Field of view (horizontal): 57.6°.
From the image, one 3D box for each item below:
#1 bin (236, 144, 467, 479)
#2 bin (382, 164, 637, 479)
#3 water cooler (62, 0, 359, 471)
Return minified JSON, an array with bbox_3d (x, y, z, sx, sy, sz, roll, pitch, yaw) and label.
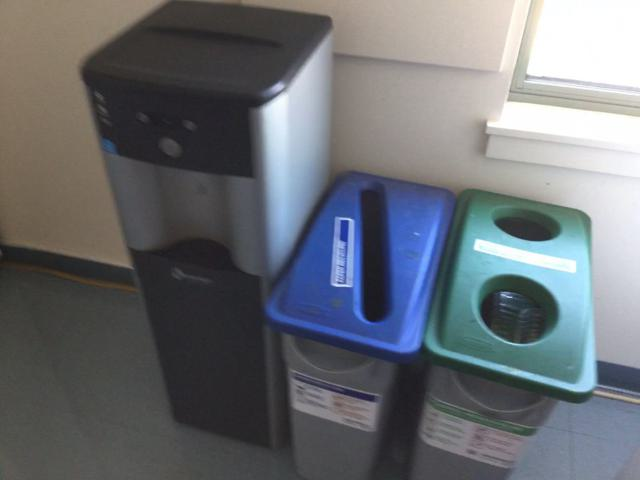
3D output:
[{"bbox_3d":[0.090,0.240,1.370,0.330,0.680,0.580,12,41,11],"label":"bin"},{"bbox_3d":[0.370,0.290,1.310,0.340,0.670,0.570,12,41,11],"label":"bin"},{"bbox_3d":[-0.170,0.020,1.340,0.360,1.030,0.440,12,41,11],"label":"water cooler"}]
